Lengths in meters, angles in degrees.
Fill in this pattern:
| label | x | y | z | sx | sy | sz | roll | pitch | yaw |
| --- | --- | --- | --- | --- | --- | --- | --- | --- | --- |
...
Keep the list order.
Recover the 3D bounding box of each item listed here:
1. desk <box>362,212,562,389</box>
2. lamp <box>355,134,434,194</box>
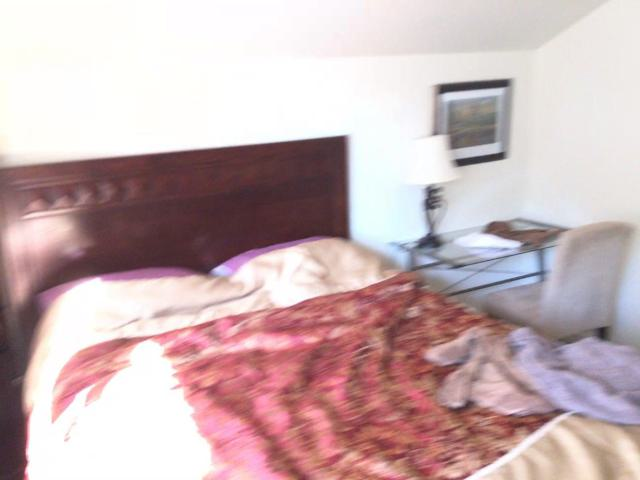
| label | x | y | z | sx | sy | sz | roll | pitch | yaw |
| --- | --- | --- | --- | --- | --- | --- | --- | --- | --- |
| desk | 0.840 | 0.290 | 3.370 | 1.000 | 0.730 | 0.540 | -11 | 12 | -27 |
| lamp | 0.400 | -0.420 | 3.120 | 0.280 | 0.270 | 0.310 | -11 | 16 | -28 |
